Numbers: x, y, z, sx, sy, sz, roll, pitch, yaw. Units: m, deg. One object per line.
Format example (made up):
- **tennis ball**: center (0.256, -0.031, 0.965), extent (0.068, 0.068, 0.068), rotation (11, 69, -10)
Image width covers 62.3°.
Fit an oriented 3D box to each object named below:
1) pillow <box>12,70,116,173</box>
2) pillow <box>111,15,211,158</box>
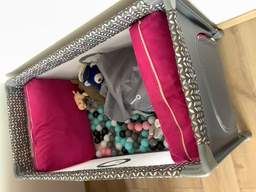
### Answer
- **pillow**: center (-0.460, 0.180, 1.610), extent (0.340, 0.590, 0.610), rotation (-18, 79, 35)
- **pillow**: center (0.170, -0.030, 1.010), extent (0.210, 0.390, 0.540), rotation (-17, 80, 35)
